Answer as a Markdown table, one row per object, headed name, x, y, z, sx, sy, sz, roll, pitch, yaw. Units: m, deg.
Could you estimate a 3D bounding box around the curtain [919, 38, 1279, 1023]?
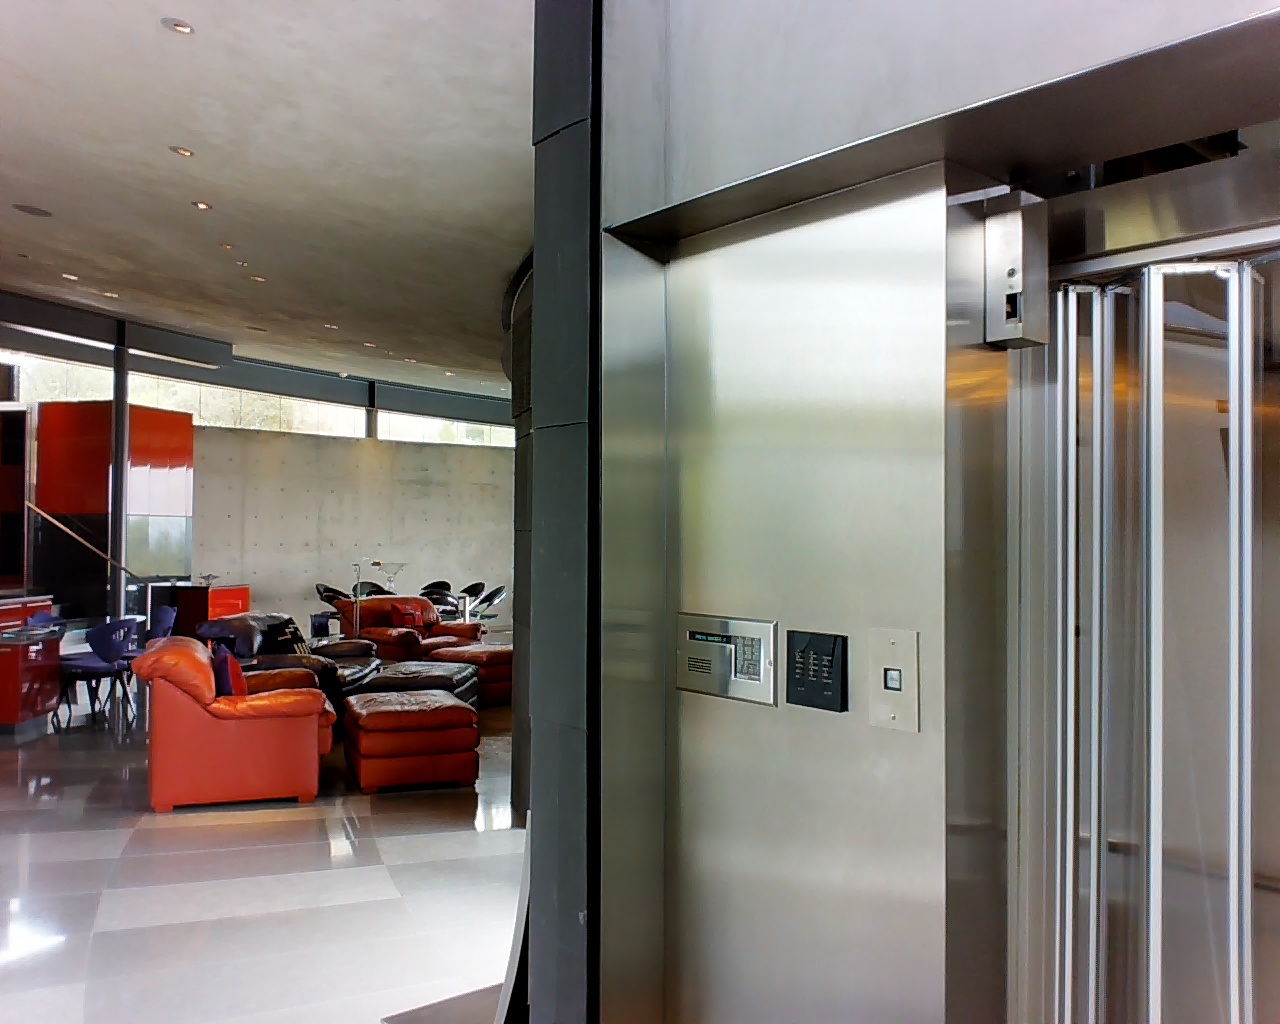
| name | x | y | z | sx | sy | sz | roll | pitch | yaw |
| --- | --- | --- | --- | --- | --- | --- | --- | --- | --- |
| curtain | 0.890 | 0.530 | 1.250 | 0.270 | 2.150 | 1.040 | 0 | -2 | -42 |
